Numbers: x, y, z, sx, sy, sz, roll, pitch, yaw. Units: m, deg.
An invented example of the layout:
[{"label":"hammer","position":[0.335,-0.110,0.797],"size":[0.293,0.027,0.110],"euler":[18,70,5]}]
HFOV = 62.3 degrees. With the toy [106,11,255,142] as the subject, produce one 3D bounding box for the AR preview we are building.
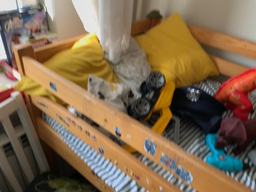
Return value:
[{"label":"toy","position":[0.350,-0.190,1.190],"size":[0.870,0.310,0.430],"euler":[27,40,28]}]
